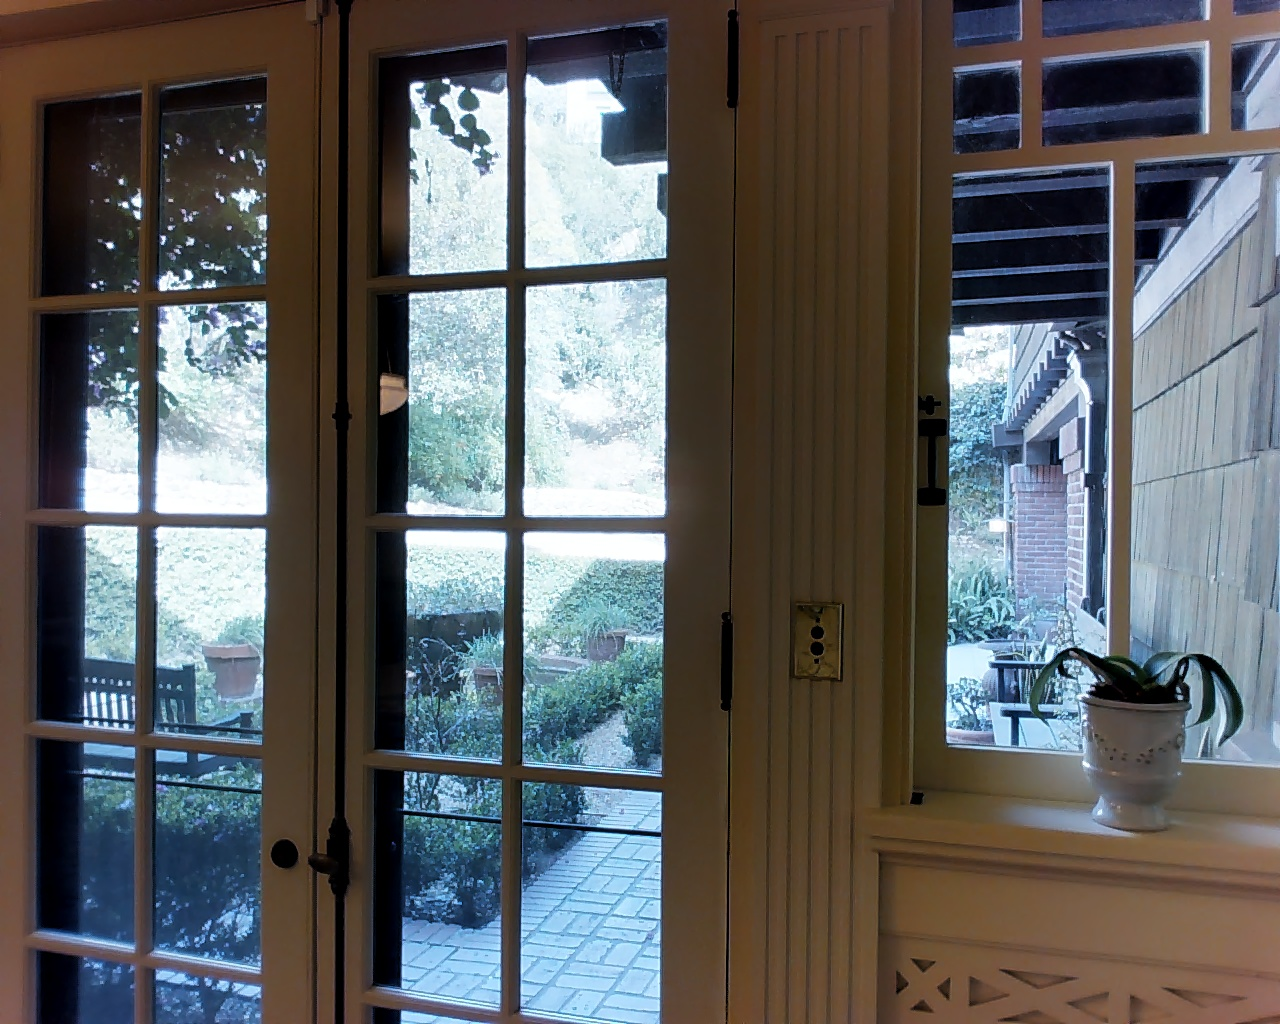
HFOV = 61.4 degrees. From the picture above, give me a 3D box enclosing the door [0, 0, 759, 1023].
[{"bbox_3d":[-0.580,0.300,1.940,1.550,2.410,0.180,1,0,17],"label":"door"}]
